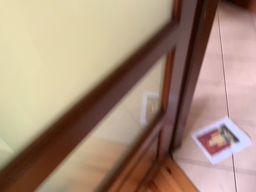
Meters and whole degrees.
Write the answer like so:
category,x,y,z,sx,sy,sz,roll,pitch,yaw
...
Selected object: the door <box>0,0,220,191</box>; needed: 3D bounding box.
category,x,y,z,sx,sy,sz,roll,pitch,yaw
door,-0.100,-0.070,0.250,0.160,2.000,0.830,28,56,25
